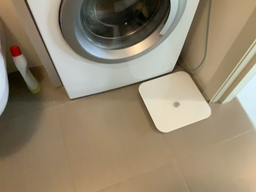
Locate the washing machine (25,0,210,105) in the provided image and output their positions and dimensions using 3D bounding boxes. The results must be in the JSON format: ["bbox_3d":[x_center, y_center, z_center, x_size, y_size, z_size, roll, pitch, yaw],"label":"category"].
[{"bbox_3d":[-0.080,-0.470,0.890,0.630,0.800,0.540,-19,63,-13],"label":"washing machine"}]
